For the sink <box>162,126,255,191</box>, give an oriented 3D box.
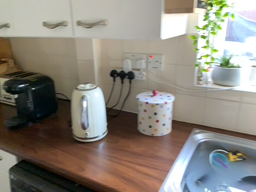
[{"bbox_3d":[0.380,0.330,0.820,0.360,0.150,0.500,10,23,26],"label":"sink"}]
